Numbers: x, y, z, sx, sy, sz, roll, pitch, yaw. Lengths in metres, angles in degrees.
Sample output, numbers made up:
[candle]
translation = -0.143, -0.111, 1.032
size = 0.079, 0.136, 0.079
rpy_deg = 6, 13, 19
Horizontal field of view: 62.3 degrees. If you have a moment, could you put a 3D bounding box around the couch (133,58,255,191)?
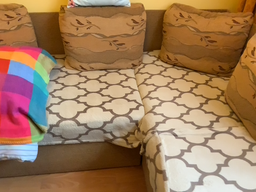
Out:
[couch]
translation = 0.480, 0.310, 0.890
size = 0.830, 0.710, 0.630
rpy_deg = -2, 37, -5
